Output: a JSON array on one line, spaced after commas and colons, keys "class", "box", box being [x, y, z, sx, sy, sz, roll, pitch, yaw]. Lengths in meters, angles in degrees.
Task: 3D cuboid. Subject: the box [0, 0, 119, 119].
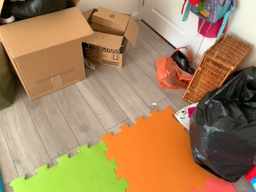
[{"class": "box", "box": [-0.490, -0.470, 1.360, 0.580, 0.930, 0.690, -22, 57, -21]}]

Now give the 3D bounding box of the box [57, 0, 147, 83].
[{"class": "box", "box": [-0.180, -0.520, 1.770, 0.530, 0.400, 0.610, 12, 52, 4]}]
